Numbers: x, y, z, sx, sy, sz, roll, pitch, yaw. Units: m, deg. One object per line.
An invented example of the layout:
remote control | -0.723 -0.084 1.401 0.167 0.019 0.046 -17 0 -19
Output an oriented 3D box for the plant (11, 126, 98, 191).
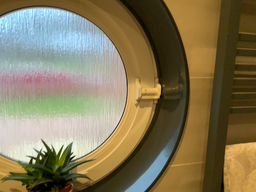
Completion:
plant | -0.250 0.290 0.760 0.250 0.300 0.190 -1 10 -18
